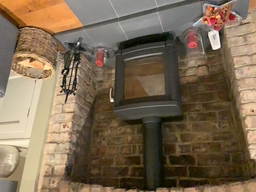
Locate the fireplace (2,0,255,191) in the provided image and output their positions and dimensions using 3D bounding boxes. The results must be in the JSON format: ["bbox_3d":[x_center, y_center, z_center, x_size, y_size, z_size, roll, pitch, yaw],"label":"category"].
[{"bbox_3d":[0.150,0.180,1.560,1.750,1.500,0.660,-6,155,18],"label":"fireplace"}]
